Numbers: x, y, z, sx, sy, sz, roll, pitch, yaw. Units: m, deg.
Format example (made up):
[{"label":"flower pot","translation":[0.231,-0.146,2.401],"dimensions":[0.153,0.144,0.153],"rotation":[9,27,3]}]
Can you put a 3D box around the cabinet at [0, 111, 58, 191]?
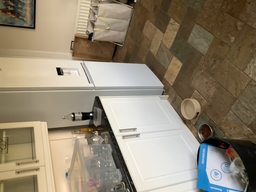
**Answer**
[{"label":"cabinet","translation":[-1.020,0.620,1.660],"dimensions":[1.090,0.800,0.310],"rotation":[61,142,43]}]
